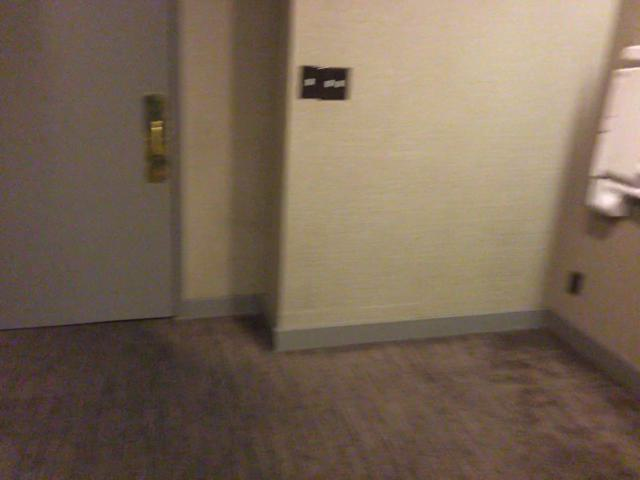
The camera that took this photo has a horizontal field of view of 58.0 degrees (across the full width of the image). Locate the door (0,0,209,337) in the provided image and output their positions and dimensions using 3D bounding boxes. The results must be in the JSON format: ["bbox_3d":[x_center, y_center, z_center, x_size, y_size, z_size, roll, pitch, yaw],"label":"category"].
[{"bbox_3d":[-1.090,-0.710,2.440,1.130,2.290,0.160,-3,15,-13],"label":"door"}]
